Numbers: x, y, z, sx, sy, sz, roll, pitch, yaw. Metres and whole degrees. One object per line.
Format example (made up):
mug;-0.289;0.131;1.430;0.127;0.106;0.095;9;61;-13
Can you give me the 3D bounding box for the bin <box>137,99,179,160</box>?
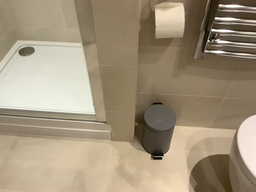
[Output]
bin;0.160;0.190;1.180;0.190;0.260;0.210;6;48;4
